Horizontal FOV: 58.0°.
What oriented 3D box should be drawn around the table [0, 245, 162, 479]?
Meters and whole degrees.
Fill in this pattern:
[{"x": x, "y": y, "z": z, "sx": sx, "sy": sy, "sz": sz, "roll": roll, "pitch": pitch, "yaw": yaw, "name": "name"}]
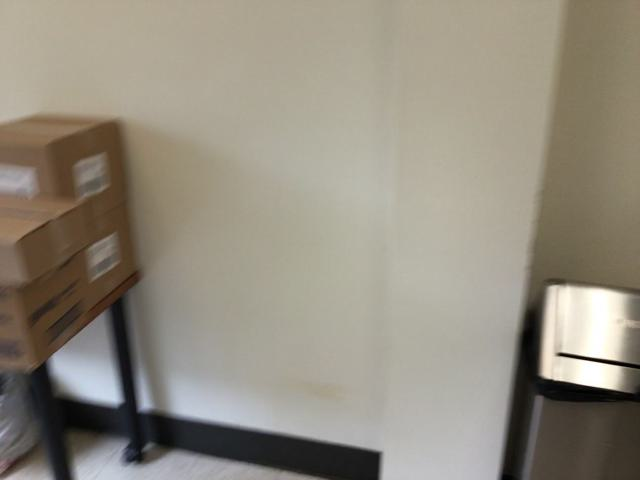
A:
[{"x": -1.340, "y": 0.430, "z": 1.850, "sx": 1.480, "sy": 0.740, "sz": 0.510, "roll": 5, "pitch": 23, "yaw": 12, "name": "table"}]
